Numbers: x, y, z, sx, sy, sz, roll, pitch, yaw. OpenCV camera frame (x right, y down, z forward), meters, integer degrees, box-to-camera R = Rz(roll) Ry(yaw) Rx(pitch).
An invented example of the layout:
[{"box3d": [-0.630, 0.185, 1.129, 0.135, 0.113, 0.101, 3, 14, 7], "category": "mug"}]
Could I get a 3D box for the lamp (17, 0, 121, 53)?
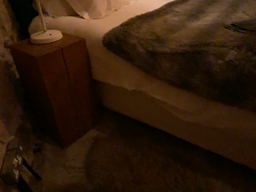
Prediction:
[{"box3d": [-0.340, -0.590, 1.170, 0.500, 0.550, 0.240, -15, 37, -14], "category": "lamp"}]
